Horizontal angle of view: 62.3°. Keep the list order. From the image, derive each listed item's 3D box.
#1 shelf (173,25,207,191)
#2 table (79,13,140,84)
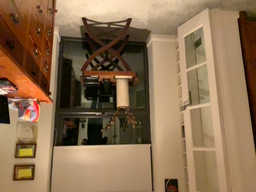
[{"bbox_3d":[0.720,0.140,2.530,0.170,2.050,0.200,1,168,-9],"label":"shelf"},{"bbox_3d":[-0.240,-0.530,2.540,0.640,0.640,0.500,1,168,-11],"label":"table"}]
